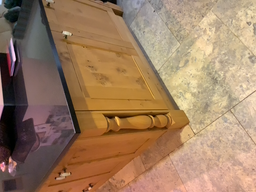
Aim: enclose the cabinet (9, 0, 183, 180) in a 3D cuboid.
[{"bbox_3d":[-0.390,-0.120,1.850,0.900,0.900,1.190,-48,54,37],"label":"cabinet"}]
